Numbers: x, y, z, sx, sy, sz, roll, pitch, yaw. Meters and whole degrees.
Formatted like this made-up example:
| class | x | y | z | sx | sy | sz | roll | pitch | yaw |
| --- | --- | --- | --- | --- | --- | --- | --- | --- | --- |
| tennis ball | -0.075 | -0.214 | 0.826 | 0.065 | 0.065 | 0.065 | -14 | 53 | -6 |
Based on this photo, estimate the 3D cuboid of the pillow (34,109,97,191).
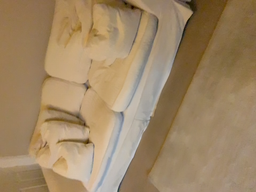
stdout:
| class | x | y | z | sx | sy | sz | roll | pitch | yaw |
| --- | --- | --- | --- | --- | --- | --- | --- | --- | --- |
| pillow | -0.610 | 0.460 | 1.970 | 0.640 | 0.300 | 0.400 | 40 | 118 | 46 |

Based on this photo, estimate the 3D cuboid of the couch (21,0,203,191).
| class | x | y | z | sx | sy | sz | roll | pitch | yaw |
| --- | --- | --- | --- | --- | --- | --- | --- | --- | --- |
| couch | -0.340 | -0.040 | 2.000 | 0.970 | 0.780 | 2.090 | 41 | 118 | 46 |
